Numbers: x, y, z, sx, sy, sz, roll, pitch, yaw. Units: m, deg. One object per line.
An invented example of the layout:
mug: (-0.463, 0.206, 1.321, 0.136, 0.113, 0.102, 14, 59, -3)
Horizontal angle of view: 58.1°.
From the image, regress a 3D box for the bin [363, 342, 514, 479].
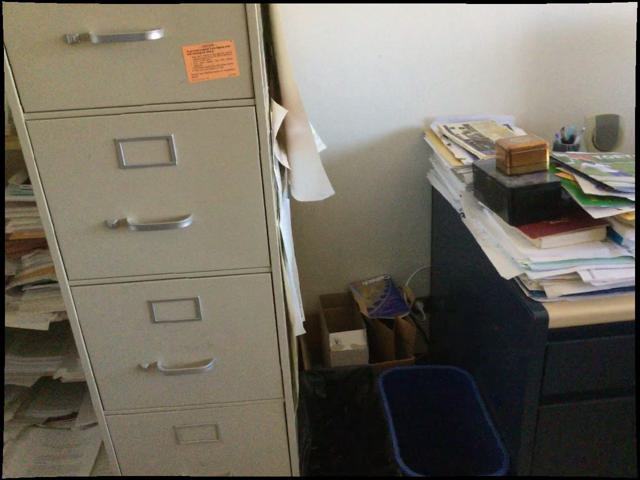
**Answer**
bin: (0.279, 0.582, 1.520, 0.249, 0.401, 0.460, -5, 26, -4)

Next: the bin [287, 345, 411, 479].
bin: (0.060, 0.592, 1.500, 0.239, 0.391, 0.490, -5, 26, -4)
